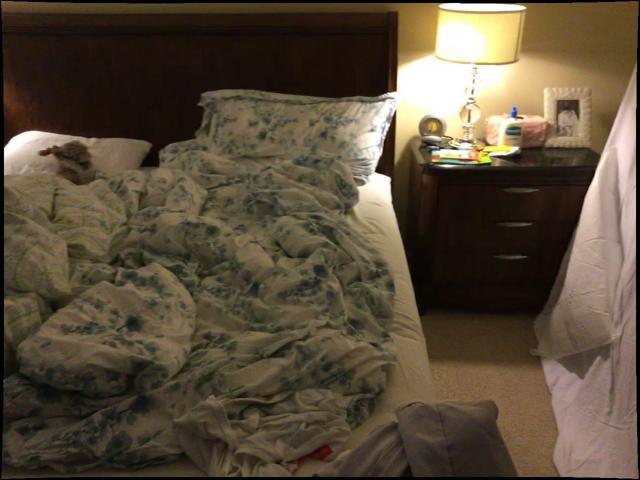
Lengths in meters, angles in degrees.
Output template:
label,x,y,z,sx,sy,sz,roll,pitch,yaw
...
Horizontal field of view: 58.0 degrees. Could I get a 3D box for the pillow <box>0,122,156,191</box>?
label,x,y,z,sx,sy,sz,roll,pitch,yaw
pillow,-1.187,-0.381,2.570,0.768,0.150,0.470,-1,27,2

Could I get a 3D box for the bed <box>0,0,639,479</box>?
label,x,y,z,sx,sy,sz,roll,pitch,yaw
bed,-0.668,0.070,1.800,2.135,1.323,2.641,-1,27,2

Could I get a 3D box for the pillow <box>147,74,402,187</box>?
label,x,y,z,sx,sy,sz,roll,pitch,yaw
pillow,-0.170,-0.491,2.530,0.998,0.361,0.450,-1,27,2
